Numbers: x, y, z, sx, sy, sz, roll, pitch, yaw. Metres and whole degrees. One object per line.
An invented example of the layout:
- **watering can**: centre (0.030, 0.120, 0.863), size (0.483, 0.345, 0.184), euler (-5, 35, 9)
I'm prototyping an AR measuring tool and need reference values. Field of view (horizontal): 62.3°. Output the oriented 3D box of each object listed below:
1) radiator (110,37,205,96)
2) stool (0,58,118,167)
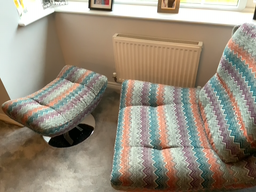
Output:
- **radiator**: centre (0.220, -0.250, 1.790), size (0.750, 0.410, 0.060), euler (11, 40, 17)
- **stool**: centre (-0.480, 0.080, 1.680), size (0.480, 0.410, 0.670), euler (19, 43, 25)
